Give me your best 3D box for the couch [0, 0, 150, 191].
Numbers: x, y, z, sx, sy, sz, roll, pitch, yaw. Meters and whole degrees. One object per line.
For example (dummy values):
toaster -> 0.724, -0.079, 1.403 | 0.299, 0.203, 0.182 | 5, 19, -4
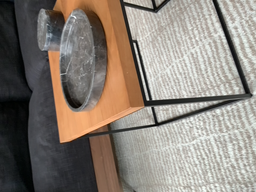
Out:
couch -> -0.600, -0.070, 1.370 | 0.900, 0.750, 2.030 | -30, 68, 51
